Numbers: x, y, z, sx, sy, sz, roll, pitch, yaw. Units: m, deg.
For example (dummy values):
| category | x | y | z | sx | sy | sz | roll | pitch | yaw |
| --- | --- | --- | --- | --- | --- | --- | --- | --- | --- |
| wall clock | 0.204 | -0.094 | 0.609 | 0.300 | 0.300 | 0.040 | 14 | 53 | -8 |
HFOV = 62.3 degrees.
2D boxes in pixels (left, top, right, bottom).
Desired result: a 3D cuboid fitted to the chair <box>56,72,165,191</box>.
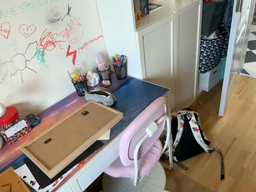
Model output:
| category | x | y | z | sx | sy | sz | roll | pitch | yaw |
| --- | --- | --- | --- | --- | --- | --- | --- | --- | --- |
| chair | -0.060 | 0.340 | 1.350 | 0.450 | 0.820 | 0.350 | 24 | 46 | 37 |
